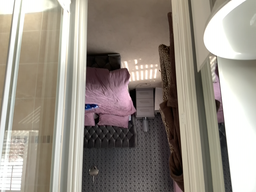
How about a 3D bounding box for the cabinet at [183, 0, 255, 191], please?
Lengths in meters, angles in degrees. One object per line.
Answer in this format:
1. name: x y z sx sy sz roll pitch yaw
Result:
1. cabinet: 0.550 -0.120 1.160 0.340 1.640 0.380 -1 167 4
